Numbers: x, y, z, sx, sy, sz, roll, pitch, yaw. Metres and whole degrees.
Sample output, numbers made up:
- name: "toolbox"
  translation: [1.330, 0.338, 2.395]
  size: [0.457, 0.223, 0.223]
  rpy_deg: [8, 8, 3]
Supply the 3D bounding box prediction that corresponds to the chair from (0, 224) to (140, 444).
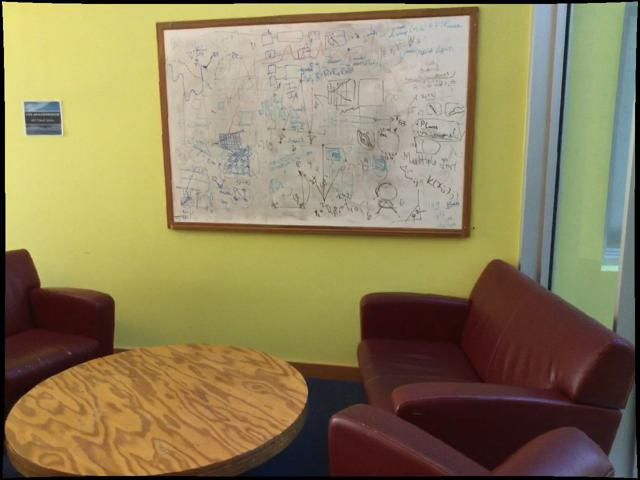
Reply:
- name: "chair"
  translation: [-1.668, 0.440, 3.080]
  size: [0.809, 0.731, 0.860]
  rpy_deg: [-3, 22, 35]
